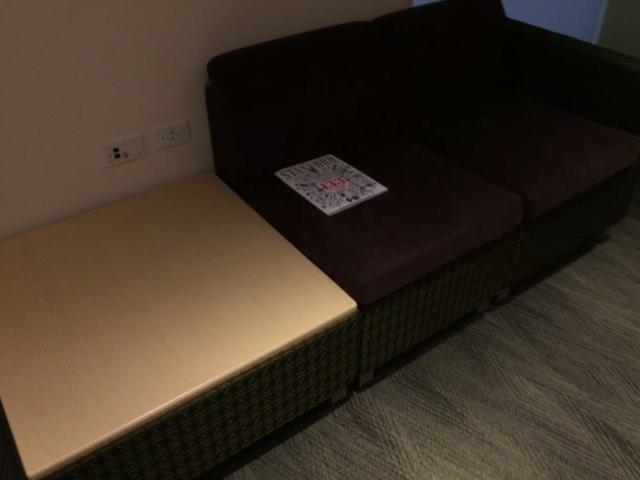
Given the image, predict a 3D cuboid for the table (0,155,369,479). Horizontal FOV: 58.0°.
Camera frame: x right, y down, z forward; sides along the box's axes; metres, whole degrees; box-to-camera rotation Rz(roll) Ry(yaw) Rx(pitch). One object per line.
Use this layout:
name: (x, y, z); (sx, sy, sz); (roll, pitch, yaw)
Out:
table: (-0.430, 0.240, 1.510); (0.800, 0.420, 0.780); (-23, 43, -24)

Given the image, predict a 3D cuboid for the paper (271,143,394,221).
paper: (0.030, -0.170, 1.610); (0.220, 0.030, 0.280); (-23, 43, -24)
